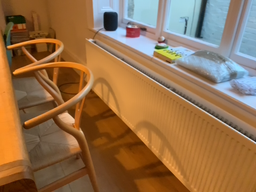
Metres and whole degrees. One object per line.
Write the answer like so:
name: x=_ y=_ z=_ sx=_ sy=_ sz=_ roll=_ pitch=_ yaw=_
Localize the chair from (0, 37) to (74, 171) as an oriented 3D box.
chair: x=-0.710 y=0.030 z=1.510 sx=0.450 sy=0.750 sz=0.440 roll=-15 pitch=34 yaw=-29
